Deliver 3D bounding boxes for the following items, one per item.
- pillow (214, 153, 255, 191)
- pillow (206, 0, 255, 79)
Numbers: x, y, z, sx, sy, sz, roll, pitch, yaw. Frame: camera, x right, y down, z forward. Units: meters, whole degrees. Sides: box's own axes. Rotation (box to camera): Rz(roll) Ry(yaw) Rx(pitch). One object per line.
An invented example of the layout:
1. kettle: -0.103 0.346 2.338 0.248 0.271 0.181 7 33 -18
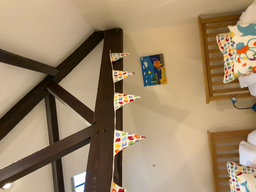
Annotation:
1. pillow: 1.270 0.940 2.210 0.740 0.440 0.490 21 -116 -85
2. pillow: 1.090 -0.480 2.040 0.860 0.380 0.530 8 -103 -85
